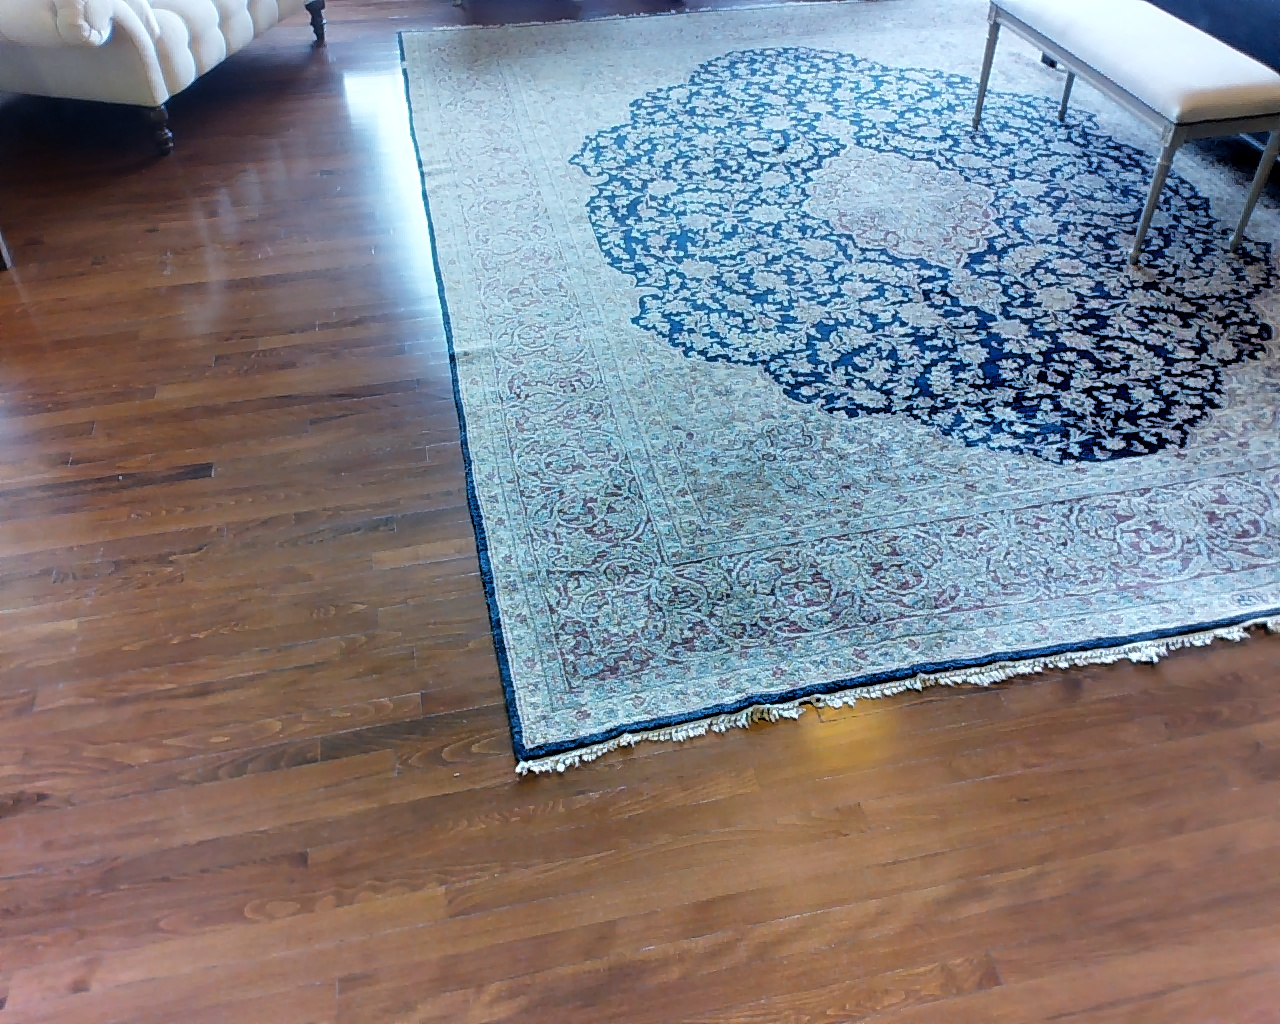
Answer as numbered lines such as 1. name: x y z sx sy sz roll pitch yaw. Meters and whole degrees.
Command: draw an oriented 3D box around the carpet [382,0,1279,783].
1. carpet: 0.810 -1.140 3.560 3.050 0.080 4.090 -9 43 -10
